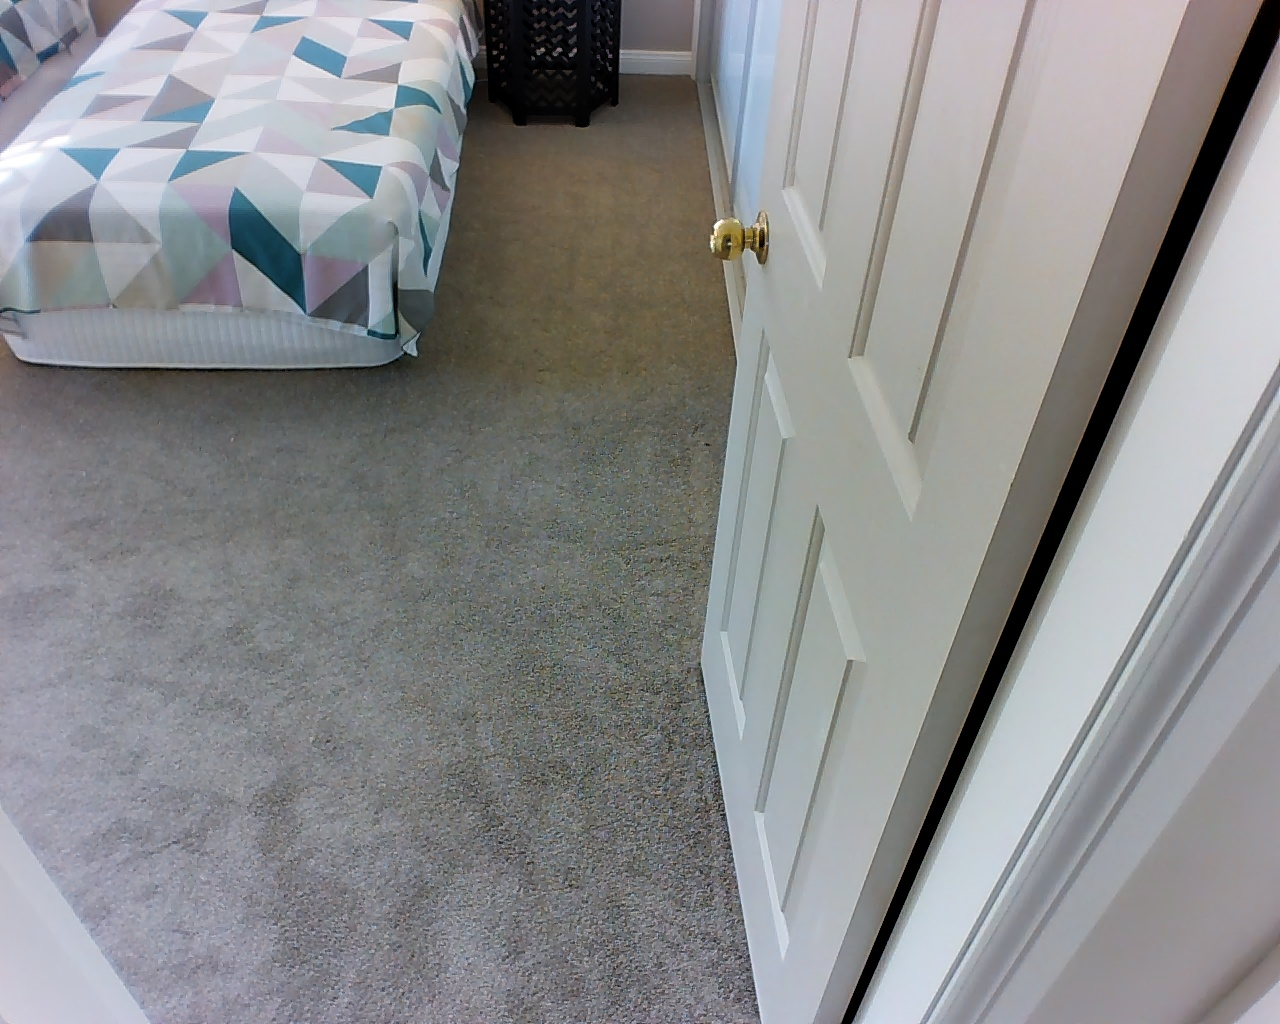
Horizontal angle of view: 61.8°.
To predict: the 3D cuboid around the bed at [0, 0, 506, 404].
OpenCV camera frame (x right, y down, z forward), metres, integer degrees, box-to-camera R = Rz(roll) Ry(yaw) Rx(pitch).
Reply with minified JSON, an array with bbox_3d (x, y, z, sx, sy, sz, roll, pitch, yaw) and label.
[{"bbox_3d":[-1.050,-1.120,3.060,1.230,0.470,2.050,0,43,-4],"label":"bed"}]
